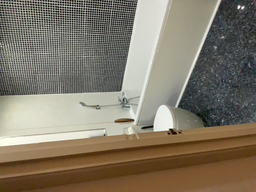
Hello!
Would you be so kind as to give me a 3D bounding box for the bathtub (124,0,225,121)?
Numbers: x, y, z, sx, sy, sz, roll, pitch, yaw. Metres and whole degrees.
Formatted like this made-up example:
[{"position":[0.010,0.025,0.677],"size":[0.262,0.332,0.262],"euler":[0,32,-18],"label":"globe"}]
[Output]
[{"position":[0.410,-0.580,2.470],"size":[0.760,0.510,1.680],"euler":[-110,25,-47],"label":"bathtub"}]
